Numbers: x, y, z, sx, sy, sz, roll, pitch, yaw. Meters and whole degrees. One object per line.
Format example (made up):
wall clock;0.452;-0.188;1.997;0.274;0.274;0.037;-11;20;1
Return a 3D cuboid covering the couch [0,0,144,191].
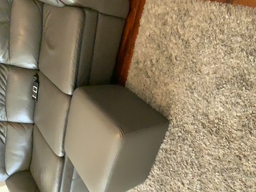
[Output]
couch;-0.800;0.040;1.710;0.980;0.970;2.010;34;118;39

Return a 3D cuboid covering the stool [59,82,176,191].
stool;-0.100;0.270;1.390;0.490;0.430;0.550;39;120;37
